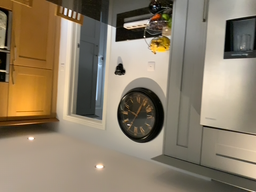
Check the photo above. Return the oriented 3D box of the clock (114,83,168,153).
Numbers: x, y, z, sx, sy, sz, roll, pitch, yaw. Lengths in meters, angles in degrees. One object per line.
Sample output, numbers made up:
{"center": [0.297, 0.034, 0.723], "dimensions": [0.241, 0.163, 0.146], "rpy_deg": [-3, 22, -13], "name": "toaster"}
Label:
{"center": [0.120, 0.200, 2.220], "dimensions": [0.550, 0.640, 0.140], "rpy_deg": [7, -177, 43], "name": "clock"}
